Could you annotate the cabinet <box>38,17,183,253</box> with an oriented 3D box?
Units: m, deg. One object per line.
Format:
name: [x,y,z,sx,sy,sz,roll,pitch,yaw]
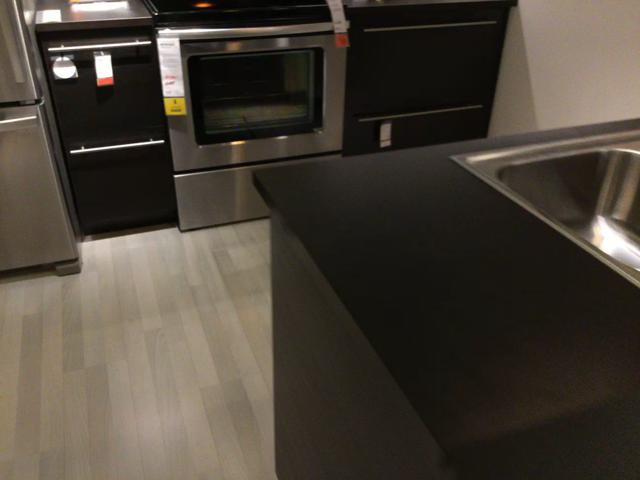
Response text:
cabinet: [-0.880,-0.480,2.500,0.390,0.810,0.640,-10,30,-16]

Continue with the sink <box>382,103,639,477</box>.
sink: [0.500,-0.010,0.930,0.600,0.220,0.590,-10,30,-16]

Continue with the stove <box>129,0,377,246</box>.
stove: [-0.310,-0.730,2.550,0.900,1.200,0.690,-10,30,-16]
